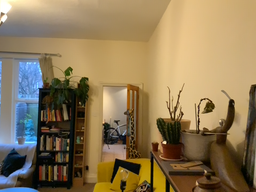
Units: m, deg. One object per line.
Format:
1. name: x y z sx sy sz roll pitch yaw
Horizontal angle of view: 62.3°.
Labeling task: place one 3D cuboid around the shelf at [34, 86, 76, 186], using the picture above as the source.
1. shelf: -1.410 0.750 4.160 0.650 1.870 0.320 2 -1 -3

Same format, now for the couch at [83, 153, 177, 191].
1. couch: -0.020 1.340 2.590 0.940 0.750 1.980 2 -1 -4

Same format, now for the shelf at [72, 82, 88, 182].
1. shelf: -0.970 0.710 4.280 0.240 1.990 0.120 2 -1 -3
